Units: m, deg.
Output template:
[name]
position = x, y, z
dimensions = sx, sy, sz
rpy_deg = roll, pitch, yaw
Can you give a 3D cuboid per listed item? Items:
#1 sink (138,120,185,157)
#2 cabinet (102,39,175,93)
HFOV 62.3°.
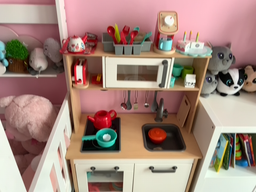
[sink]
position = 0.190, 0.250, 1.280
dimensions = 0.240, 0.080, 0.230
rpy_deg = 0, 32, -4
[cabinet]
position = 0.040, -0.160, 1.120
dimensions = 0.340, 0.210, 0.210
rpy_deg = 0, 32, -4
